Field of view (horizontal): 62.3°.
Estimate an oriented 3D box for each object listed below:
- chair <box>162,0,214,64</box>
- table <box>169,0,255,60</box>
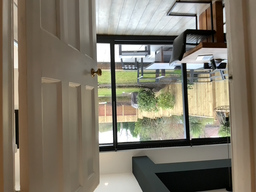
[{"bbox_3d":[0.930,-1.000,3.370,0.580,0.880,0.520,-2,179,-11],"label":"chair"},{"bbox_3d":[1.930,-1.080,3.530,2.190,0.780,1.010,-2,179,-10],"label":"table"}]
